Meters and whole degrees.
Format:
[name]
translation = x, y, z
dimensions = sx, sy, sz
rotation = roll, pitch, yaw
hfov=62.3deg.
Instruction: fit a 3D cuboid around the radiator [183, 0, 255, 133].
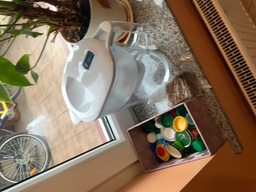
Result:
[radiator]
translation = 0.510, -0.240, 0.930
dimensions = 0.100, 0.640, 0.860
rotation = -32, 78, 40
